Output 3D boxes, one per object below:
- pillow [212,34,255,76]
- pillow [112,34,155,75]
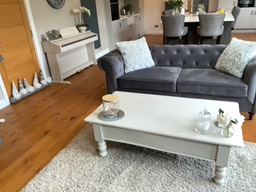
[{"bbox_3d":[1.330,-0.490,2.690,0.240,0.380,0.530,14,0,2],"label":"pillow"},{"bbox_3d":[0.090,-0.600,3.150,0.540,0.480,0.180,9,5,-32],"label":"pillow"}]
